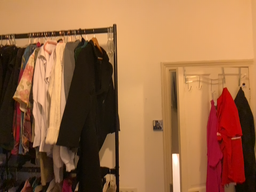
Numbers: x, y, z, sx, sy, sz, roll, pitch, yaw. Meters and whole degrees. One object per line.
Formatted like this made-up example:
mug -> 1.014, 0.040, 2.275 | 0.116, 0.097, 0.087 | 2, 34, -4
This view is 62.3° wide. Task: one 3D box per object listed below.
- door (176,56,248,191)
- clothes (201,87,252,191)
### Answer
door -> 0.740, 0.660, 1.810 | 0.660, 1.990, 0.020 | -2, 1, -15
clothes -> 0.800, 0.440, 1.730 | 0.320, 1.020, 0.180 | -2, 1, -16
